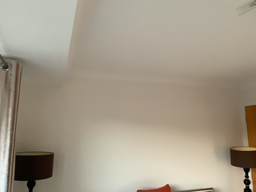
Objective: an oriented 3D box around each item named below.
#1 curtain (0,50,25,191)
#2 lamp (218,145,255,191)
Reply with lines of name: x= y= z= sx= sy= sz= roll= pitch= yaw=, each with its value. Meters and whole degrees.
curtain: x=-0.840 y=0.420 z=1.390 sx=0.160 sy=1.400 sz=0.310 roll=4 pitch=-11 yaw=-20
lamp: x=1.430 y=1.000 z=2.650 sx=0.340 sy=0.720 sz=0.390 roll=3 pitch=-11 yaw=-19
